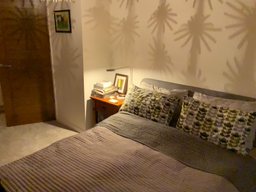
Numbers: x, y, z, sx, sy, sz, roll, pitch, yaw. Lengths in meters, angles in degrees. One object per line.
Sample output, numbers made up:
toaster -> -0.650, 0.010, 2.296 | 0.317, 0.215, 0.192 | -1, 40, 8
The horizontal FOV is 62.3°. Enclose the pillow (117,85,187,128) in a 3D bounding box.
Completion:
pillow -> 0.270, 0.090, 2.540 | 0.680, 0.260, 0.460 | 16, 22, 39

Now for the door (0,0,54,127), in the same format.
door -> -1.580, -0.520, 3.310 | 0.640, 2.050, 0.060 | -6, 19, -23

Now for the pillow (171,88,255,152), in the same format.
pillow -> 0.870, 0.190, 2.120 | 0.680, 0.330, 0.480 | 16, 22, 38
